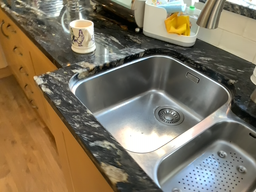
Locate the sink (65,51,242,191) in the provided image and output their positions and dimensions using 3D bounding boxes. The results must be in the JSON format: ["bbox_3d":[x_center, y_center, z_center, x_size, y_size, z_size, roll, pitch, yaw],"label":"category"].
[{"bbox_3d":[0.080,0.060,0.750,0.450,0.200,0.360,-24,47,-30],"label":"sink"}]

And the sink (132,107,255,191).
[{"bbox_3d":[0.220,0.210,0.530,0.360,0.140,0.220,-24,47,-30],"label":"sink"}]
